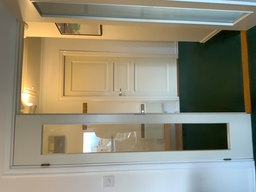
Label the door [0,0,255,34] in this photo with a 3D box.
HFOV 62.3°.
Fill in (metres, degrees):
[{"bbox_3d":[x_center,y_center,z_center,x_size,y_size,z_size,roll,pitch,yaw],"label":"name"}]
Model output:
[{"bbox_3d":[0.120,-0.710,1.530,1.060,2.140,0.170,-165,76,-83],"label":"door"}]
